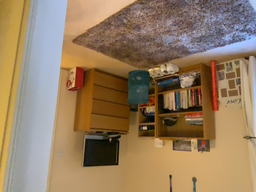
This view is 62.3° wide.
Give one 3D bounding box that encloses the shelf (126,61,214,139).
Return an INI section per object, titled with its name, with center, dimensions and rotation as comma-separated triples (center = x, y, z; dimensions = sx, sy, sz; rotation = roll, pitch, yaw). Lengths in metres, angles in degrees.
[shelf]
center = 0.600, 0.140, 3.480
dimensions = 0.330, 1.050, 1.450
rotation = 13, 165, -43
